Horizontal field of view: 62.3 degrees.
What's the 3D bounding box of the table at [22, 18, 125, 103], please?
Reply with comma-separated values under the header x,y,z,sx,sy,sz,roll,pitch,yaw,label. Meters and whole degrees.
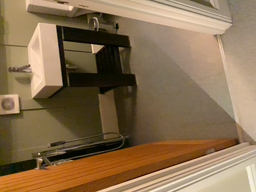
x,y,z,sx,sy,sz,roll,pitch,yaw,label
-0.490,-0.270,1.890,0.480,0.720,0.540,-19,77,55,table
